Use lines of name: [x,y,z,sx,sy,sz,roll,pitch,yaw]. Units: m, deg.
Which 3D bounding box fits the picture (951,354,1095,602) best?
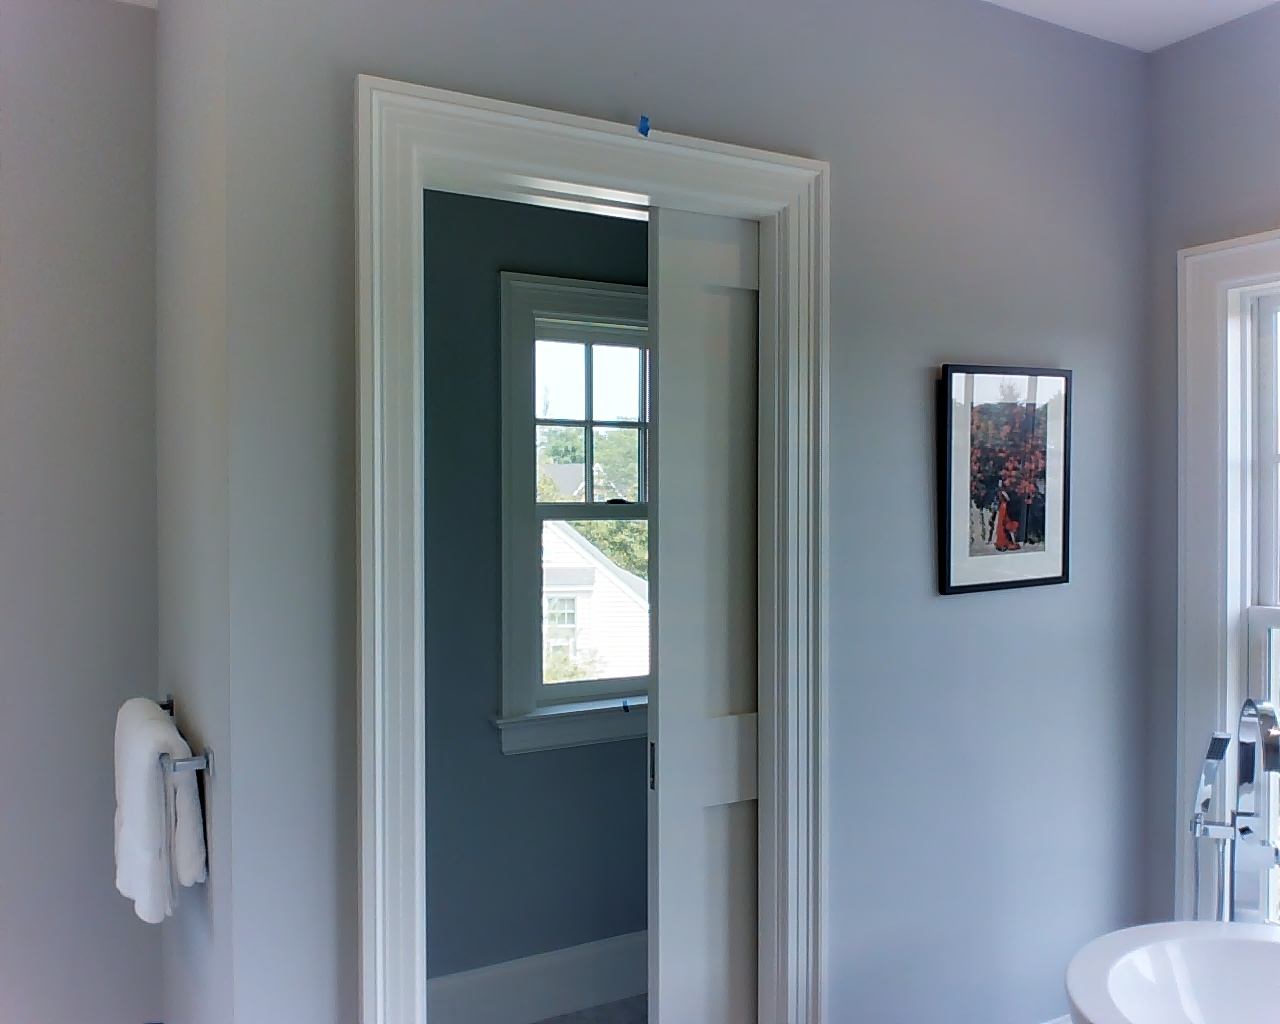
picture: [0.950,-0.080,2.650,0.470,0.580,0.040,0,1,-30]
